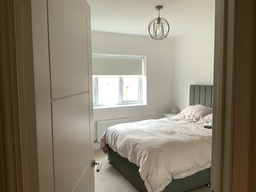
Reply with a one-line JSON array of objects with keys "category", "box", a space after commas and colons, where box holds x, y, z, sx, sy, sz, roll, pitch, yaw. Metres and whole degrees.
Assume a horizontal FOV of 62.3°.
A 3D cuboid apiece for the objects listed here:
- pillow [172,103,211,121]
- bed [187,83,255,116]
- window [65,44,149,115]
[{"category": "pillow", "box": [1.250, 0.300, 4.200, 0.460, 0.240, 0.580, -3, 6, -28]}, {"category": "bed", "box": [1.690, 0.010, 4.000, 0.160, 0.490, 1.510, -2, 6, -24]}, {"category": "window", "box": [-0.400, -0.360, 4.700, 1.860, 1.410, 0.210, -2, 6, -23]}]
